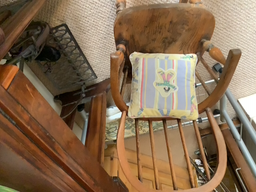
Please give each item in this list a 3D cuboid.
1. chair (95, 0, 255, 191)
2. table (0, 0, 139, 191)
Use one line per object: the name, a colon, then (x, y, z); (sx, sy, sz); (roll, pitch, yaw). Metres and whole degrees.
chair: (0.110, -0.070, 0.780); (0.380, 0.680, 0.470); (-2, 131, -3)
table: (-0.330, 0.020, 0.770); (0.450, 0.760, 0.900); (-18, 130, 10)
